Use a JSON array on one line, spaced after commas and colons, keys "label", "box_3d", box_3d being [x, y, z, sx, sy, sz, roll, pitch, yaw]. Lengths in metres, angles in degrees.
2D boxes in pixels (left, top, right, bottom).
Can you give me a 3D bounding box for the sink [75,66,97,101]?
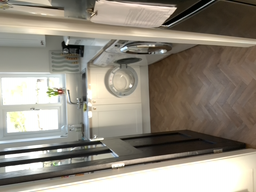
[{"label": "sink", "box_3d": [-0.620, -0.170, 3.100, 0.530, 0.210, 0.460, 178, 90, -69]}]
